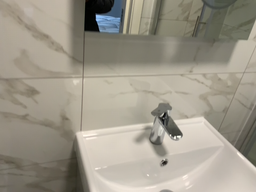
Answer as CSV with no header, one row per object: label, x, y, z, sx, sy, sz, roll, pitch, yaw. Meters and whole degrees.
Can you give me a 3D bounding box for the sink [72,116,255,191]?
sink,0.130,0.270,0.620,0.510,0.160,0.420,-3,32,-22
